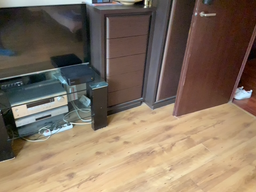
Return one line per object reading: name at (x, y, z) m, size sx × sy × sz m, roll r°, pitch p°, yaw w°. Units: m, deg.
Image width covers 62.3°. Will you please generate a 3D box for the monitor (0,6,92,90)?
monitor at (-0.790, -0.410, 1.790) m, size 1.000 × 0.610 × 0.080 m, roll -16°, pitch 37°, yaw -29°
